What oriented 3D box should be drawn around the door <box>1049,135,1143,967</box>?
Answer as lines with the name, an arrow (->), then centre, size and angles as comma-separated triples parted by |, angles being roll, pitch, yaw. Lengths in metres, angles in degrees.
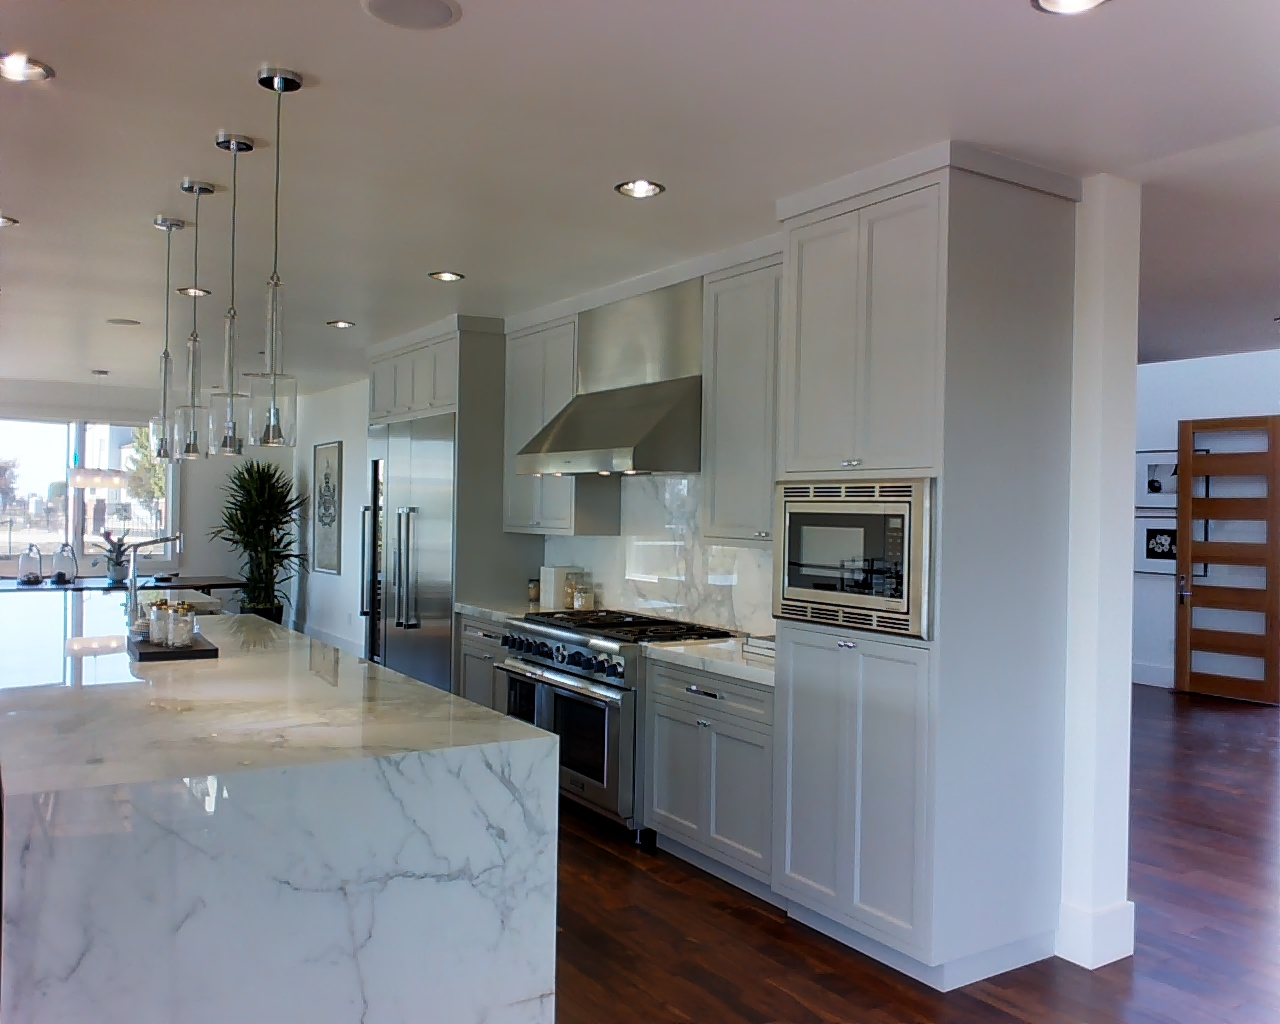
door -> 1.560, 0.130, 3.680 | 0.250, 2.790, 0.110 | 1, 0, 13
